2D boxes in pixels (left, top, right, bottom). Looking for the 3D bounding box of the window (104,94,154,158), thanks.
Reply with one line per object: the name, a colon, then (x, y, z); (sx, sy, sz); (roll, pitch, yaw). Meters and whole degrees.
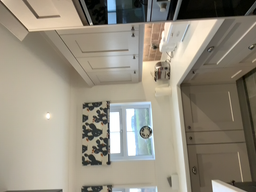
window: (0.010, 0.480, 3.490); (0.090, 0.770, 1.000); (78, -170, -79)
